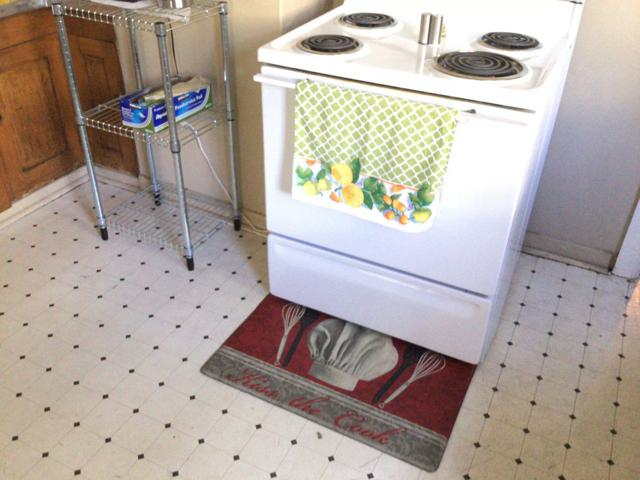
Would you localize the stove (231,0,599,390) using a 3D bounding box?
[{"bbox_3d":[0.310,-0.340,1.870,0.840,1.190,0.790,16,37,20],"label":"stove"}]
